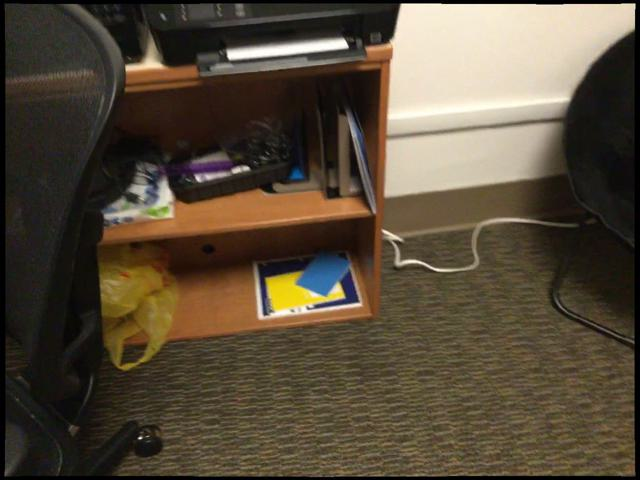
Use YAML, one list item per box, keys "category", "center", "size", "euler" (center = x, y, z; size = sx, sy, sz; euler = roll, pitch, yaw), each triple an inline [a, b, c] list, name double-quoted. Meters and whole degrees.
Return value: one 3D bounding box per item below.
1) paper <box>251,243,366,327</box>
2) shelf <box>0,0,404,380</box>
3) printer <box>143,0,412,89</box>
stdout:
- category: "paper"
  center: [-0.040, 0.120, 1.630]
  size: [0.289, 0.030, 0.250]
  euler: [-8, 40, -6]
- category: "shelf"
  center: [-0.339, -0.150, 1.380]
  size: [0.958, 0.861, 0.360]
  euler: [-8, 40, -6]
- category: "printer"
  center: [-0.090, -0.471, 1.130]
  size: [0.449, 0.160, 0.350]
  euler: [-8, 40, -6]
